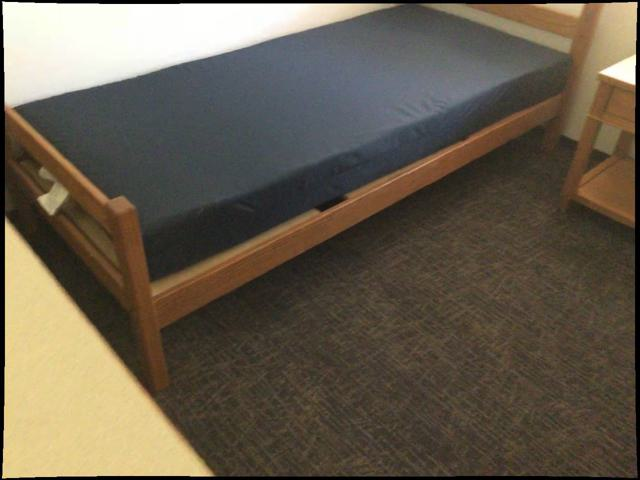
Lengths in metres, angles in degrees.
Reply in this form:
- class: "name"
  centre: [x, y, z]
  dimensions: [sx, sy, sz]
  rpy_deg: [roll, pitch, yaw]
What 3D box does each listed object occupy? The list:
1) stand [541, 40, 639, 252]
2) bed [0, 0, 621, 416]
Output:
- class: "stand"
  centre: [1.317, -0.351, 2.200]
  dimensions: [0.529, 0.581, 0.580]
  rpy_deg: [-29, 47, -32]
- class: "bed"
  centre: [0.030, -0.612, 2.220]
  dimensions: [2.298, 0.941, 1.089]
  rpy_deg: [-29, 47, -32]
